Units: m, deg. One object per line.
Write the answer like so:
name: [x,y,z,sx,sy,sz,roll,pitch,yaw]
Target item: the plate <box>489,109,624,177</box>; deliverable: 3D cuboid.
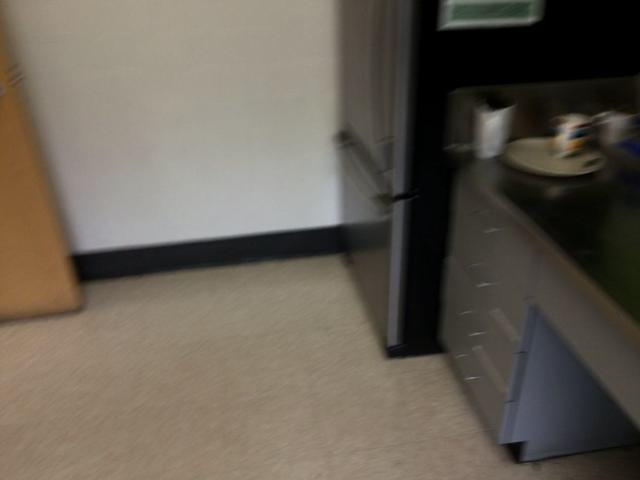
plate: [0.630,-0.270,1.570,0.240,0.090,0.240,-5,31,-9]
